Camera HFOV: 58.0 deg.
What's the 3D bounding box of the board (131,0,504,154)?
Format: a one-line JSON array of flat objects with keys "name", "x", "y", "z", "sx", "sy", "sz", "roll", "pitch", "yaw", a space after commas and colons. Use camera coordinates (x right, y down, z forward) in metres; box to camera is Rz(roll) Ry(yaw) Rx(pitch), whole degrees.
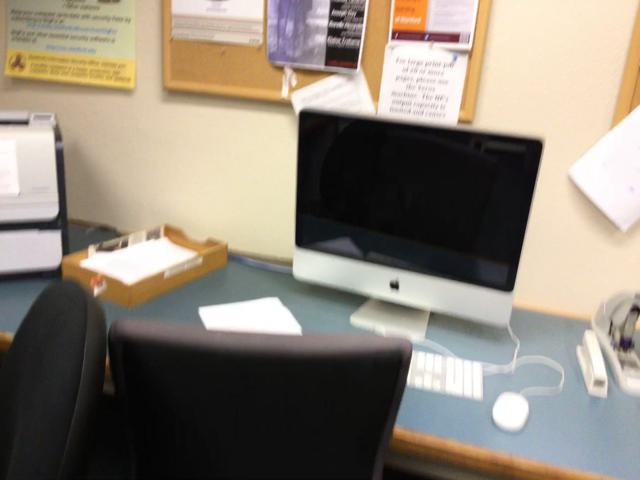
[{"name": "board", "x": -0.020, "y": -0.650, "z": 1.530, "sx": 0.970, "sy": 0.680, "sz": 0.110, "roll": 11, "pitch": 16, "yaw": 12}]
